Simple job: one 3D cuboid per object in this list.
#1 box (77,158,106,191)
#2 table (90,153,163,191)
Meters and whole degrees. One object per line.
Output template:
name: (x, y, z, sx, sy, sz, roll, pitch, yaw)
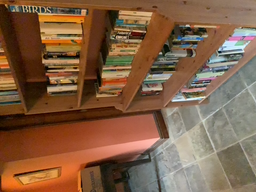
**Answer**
box: (-0.540, 1.240, 3.060, 0.520, 0.290, 0.510, 120, 141, -57)
table: (-0.120, 1.510, 3.530, 1.360, 0.790, 0.590, 116, 144, -55)
